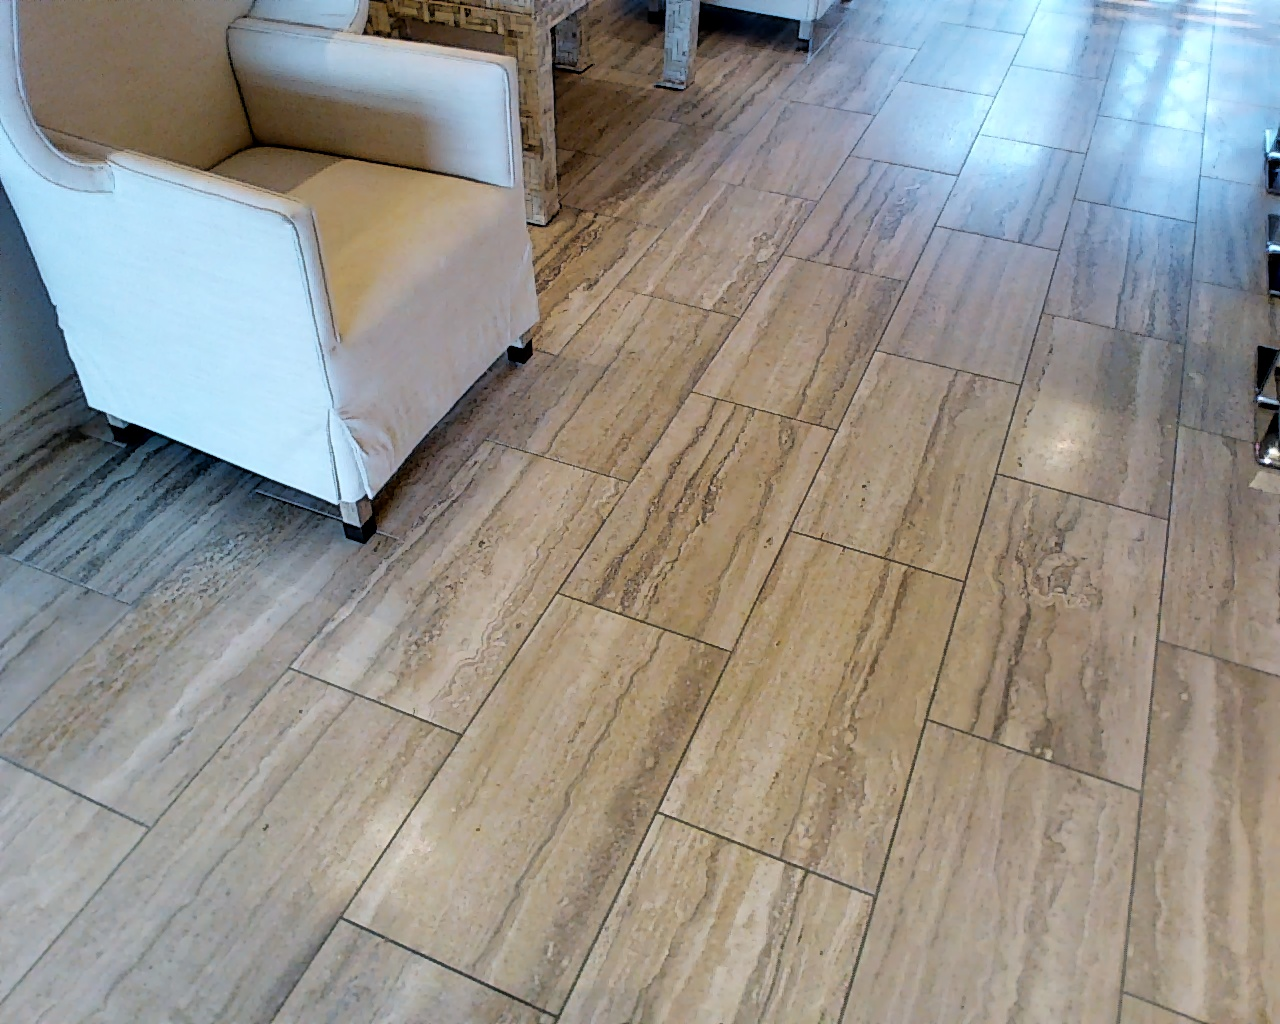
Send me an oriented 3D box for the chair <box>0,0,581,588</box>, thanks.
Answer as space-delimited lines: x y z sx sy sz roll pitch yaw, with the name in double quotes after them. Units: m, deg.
-0.630 -0.770 1.670 0.750 1.440 0.840 17 45 17 "chair"
